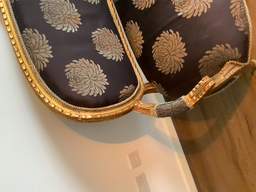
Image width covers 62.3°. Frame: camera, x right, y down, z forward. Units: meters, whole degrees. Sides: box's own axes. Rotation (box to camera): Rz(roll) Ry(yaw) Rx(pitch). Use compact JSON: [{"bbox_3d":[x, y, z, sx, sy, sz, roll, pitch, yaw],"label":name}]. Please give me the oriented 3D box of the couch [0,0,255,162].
[{"bbox_3d":[-0.040,-0.650,1.070,0.850,1.010,1.570,-24,81,44],"label":"couch"}]
